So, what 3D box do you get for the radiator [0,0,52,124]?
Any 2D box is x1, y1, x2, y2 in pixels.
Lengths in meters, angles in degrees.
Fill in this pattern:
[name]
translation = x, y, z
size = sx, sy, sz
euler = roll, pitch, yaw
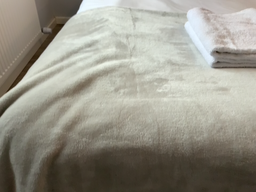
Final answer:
[radiator]
translation = -0.730, -0.310, 1.210
size = 0.130, 0.590, 1.260
euler = 2, 39, -2
